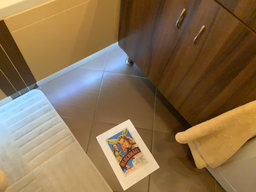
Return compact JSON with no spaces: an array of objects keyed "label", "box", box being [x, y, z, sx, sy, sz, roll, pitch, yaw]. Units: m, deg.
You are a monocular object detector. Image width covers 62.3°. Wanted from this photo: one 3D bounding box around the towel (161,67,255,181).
[{"label":"towel","box":[0.320,0.170,0.820,0.130,0.640,0.200,-33,71,-21]}]
